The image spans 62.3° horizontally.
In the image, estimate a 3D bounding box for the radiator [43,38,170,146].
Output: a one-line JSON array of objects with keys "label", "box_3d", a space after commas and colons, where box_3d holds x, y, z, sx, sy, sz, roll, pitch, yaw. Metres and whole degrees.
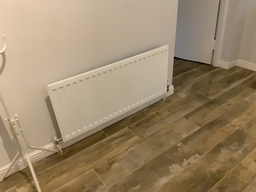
[{"label": "radiator", "box_3d": [-0.080, -0.070, 1.830, 1.130, 0.600, 0.080, -23, 36, -29]}]
